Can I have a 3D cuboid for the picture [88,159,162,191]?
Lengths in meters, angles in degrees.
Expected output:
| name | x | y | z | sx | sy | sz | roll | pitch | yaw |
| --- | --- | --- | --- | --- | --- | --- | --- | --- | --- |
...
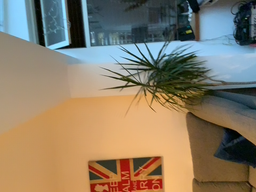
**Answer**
| name | x | y | z | sx | sy | sz | roll | pitch | yaw |
| --- | --- | --- | --- | --- | --- | --- | --- | --- | --- |
| picture | -0.020 | 1.020 | 2.350 | 0.040 | 0.780 | 0.600 | -102 | 8 | -82 |
